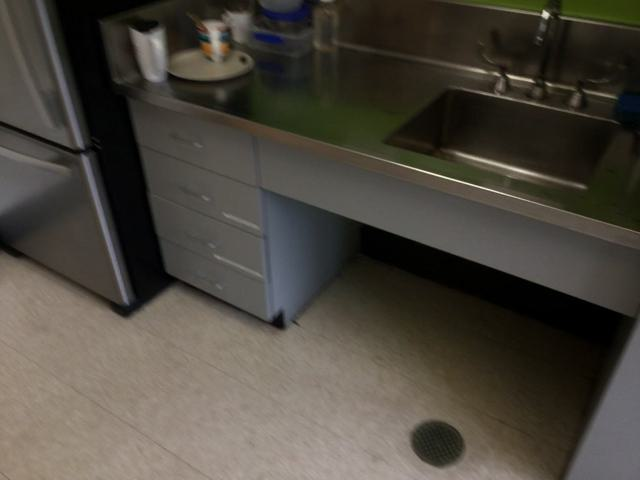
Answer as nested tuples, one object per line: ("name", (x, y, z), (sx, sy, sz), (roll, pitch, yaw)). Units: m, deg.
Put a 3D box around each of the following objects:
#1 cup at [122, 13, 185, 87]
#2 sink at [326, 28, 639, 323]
("cup", (-0.460, -0.530, 1.610), (0.100, 0.160, 0.110), (21, 41, 25))
("sink", (0.460, -0.220, 1.430), (0.690, 0.350, 0.560), (21, 41, 25))
